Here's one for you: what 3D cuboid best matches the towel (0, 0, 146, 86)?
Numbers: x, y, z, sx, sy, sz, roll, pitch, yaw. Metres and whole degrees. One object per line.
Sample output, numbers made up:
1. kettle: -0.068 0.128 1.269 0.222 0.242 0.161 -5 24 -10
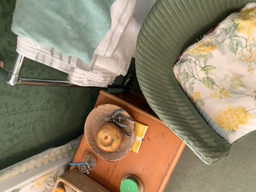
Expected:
1. towel: -0.120 -0.320 0.670 0.180 0.400 0.550 30 102 18
